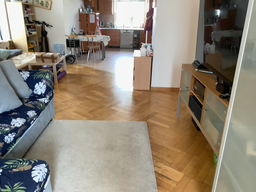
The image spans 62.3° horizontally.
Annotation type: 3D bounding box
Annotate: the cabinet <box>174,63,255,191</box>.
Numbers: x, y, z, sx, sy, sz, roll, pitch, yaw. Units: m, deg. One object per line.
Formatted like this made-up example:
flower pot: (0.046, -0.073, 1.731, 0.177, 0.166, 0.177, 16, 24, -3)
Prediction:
cabinet: (0.950, 0.220, 2.310, 0.500, 0.830, 1.540, 2, 21, -1)

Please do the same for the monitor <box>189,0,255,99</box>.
monitor: (0.880, -0.590, 2.110, 0.060, 0.810, 1.290, 6, 21, -1)

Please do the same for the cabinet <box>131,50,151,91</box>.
cabinet: (0.250, -0.560, 4.450, 0.340, 0.690, 0.730, 1, 21, -2)

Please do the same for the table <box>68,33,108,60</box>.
table: (-1.300, -1.690, 7.160, 1.200, 0.740, 0.710, 2, 21, 1)
